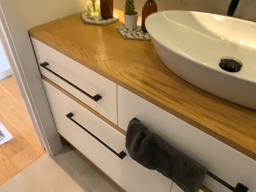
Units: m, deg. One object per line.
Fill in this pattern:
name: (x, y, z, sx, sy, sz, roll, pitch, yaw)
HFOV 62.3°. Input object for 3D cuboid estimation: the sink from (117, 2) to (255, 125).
sink: (0.330, -0.120, 0.650, 0.650, 0.110, 0.370, 31, 48, 30)
